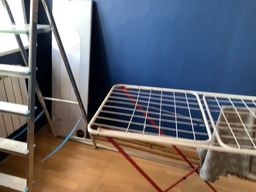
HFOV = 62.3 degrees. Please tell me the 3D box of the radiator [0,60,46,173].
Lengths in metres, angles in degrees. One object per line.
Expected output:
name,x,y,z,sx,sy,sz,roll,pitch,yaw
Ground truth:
radiator,-1.080,0.210,1.730,0.150,0.770,1.030,6,24,11
